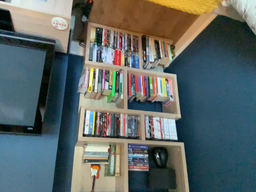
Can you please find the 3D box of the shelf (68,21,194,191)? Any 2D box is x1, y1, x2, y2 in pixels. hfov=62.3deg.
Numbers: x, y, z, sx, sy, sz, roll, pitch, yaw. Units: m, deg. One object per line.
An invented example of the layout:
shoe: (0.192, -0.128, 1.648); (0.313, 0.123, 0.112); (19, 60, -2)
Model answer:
shelf: (0.020, 0.230, 1.930); (0.950, 1.770, 0.340); (7, 156, -17)
